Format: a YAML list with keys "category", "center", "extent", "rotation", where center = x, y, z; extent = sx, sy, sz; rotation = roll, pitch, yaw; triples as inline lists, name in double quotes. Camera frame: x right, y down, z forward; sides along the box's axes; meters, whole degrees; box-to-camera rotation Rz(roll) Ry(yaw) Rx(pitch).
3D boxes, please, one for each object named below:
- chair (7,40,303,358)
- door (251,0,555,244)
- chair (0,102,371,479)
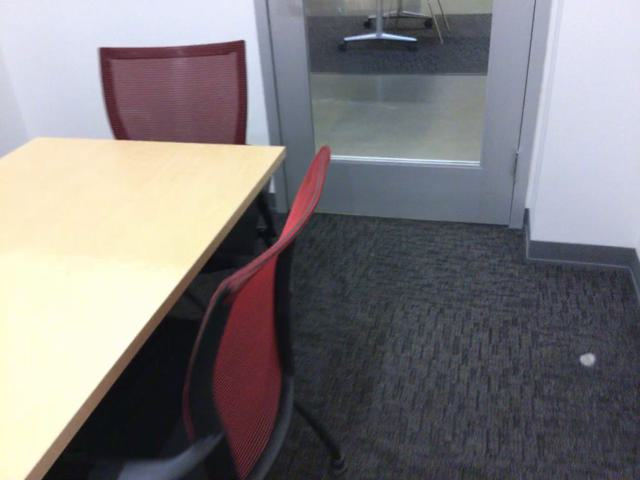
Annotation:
- category: "chair"
  center: [-0.410, -0.130, 1.820]
  extent: [0.630, 0.820, 0.540]
  rotation: [-2, 31, 3]
- category: "door"
  center: [0.250, -1.310, 1.840]
  extent: [1.080, 2.850, 0.180]
  rotation: [8, 33, 17]
- category: "chair"
  center: [-0.200, 0.260, 1.130]
  extent: [0.490, 0.870, 0.620]
  rotation: [5, 32, 14]
